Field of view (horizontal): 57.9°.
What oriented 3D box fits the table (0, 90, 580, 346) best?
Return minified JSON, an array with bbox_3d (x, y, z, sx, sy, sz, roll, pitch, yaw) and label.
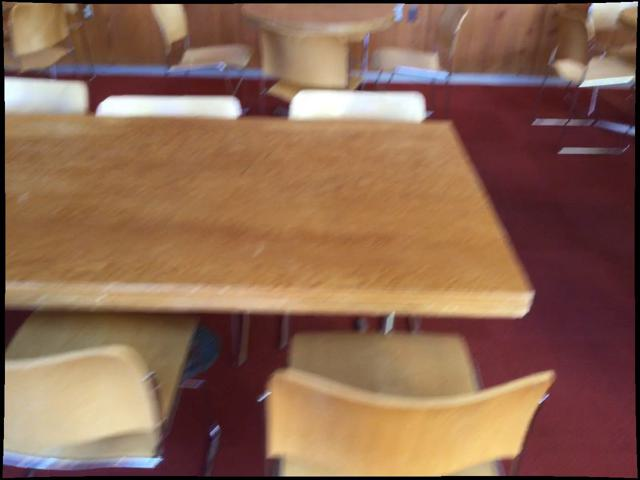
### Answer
[{"bbox_3d":[-0.410,-0.150,1.530,1.818,0.090,1.010,3,34,0],"label":"table"}]
